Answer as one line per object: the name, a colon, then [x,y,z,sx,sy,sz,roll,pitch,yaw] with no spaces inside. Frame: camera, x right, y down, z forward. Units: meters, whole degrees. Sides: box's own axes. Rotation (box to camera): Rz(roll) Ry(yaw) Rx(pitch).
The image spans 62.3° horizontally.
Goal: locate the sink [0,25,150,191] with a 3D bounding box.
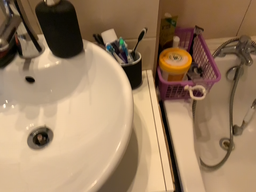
sink: [-0.210,0.060,0.470,0.460,0.160,0.450,-4,52,-2]
